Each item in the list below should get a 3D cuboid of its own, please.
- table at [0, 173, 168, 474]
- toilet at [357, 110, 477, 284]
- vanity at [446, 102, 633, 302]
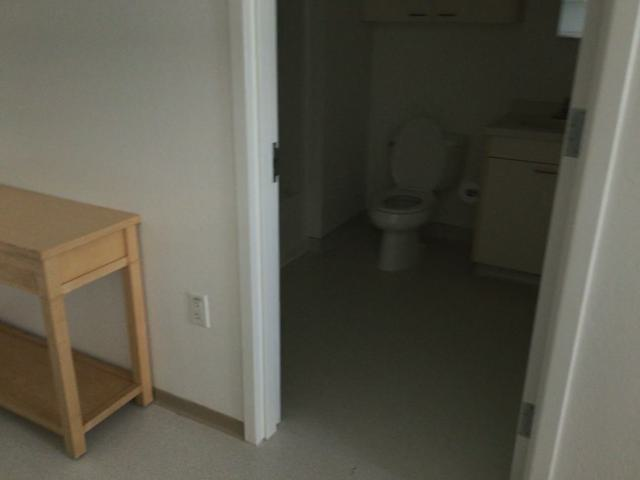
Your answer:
[{"bbox_3d":[-1.150,0.220,2.090,1.060,0.830,0.420,7,20,25],"label":"table"},{"bbox_3d":[0.570,-0.290,3.350,0.470,0.830,0.720,7,20,25],"label":"toilet"},{"bbox_3d":[1.170,-0.250,3.130,0.800,0.910,0.550,7,20,25],"label":"vanity"}]
